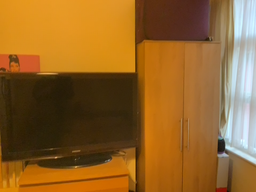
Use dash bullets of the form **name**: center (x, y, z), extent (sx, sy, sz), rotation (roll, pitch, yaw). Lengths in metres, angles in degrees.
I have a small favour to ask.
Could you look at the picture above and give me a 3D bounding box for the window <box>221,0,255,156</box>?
- **window**: center (1.190, -0.290, 1.980), extent (0.060, 1.690, 0.760), rotation (-2, 7, -15)
